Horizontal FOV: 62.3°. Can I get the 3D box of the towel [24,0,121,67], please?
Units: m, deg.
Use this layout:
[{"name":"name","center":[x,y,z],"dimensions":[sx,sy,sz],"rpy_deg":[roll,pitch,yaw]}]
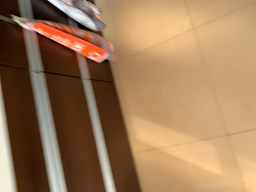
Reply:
[{"name":"towel","center":[-0.230,-0.280,1.060],"dimensions":[0.090,0.550,0.160],"rpy_deg":[-23,78,25]}]
